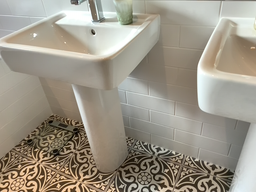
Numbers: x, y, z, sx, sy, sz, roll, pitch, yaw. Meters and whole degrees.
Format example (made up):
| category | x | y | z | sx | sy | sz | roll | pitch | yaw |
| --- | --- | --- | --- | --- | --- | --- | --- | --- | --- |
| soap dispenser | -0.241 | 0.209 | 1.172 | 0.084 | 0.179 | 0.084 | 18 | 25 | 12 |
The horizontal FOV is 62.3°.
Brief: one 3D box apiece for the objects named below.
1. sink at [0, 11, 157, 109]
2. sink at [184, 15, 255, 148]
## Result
| category | x | y | z | sx | sy | sz | roll | pitch | yaw |
| --- | --- | --- | --- | --- | --- | --- | --- | --- | --- |
| sink | -0.200 | -0.200 | 0.900 | 0.530 | 0.170 | 0.430 | 13 | 40 | 23 |
| sink | 0.490 | -0.050 | 0.580 | 0.550 | 0.180 | 0.440 | 13 | 40 | 23 |
